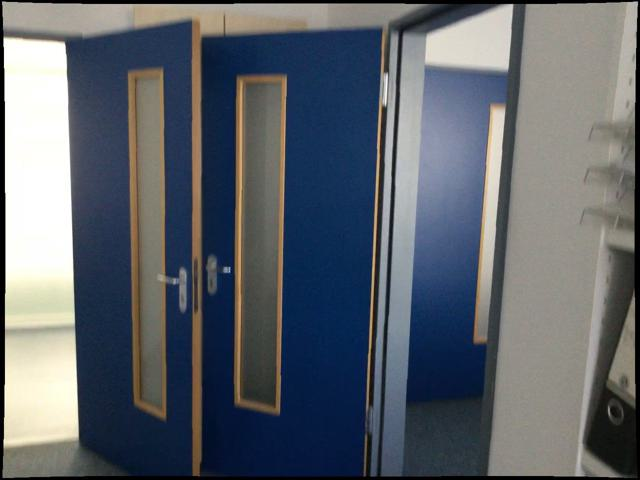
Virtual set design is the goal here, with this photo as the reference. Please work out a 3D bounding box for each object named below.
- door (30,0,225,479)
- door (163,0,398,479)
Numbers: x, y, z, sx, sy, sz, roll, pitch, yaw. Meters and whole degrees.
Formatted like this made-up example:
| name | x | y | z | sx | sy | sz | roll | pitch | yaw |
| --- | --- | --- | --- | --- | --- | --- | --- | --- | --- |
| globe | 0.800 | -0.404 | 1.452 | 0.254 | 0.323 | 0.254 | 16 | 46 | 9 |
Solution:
| name | x | y | z | sx | sy | sz | roll | pitch | yaw |
| --- | --- | --- | --- | --- | --- | --- | --- | --- | --- |
| door | -0.899 | 0.050 | 2.700 | 0.969 | 2.062 | 0.260 | 10 | 16 | 39 |
| door | -0.170 | 0.050 | 2.600 | 0.929 | 2.092 | 0.310 | 5 | 13 | 23 |
